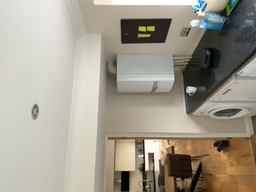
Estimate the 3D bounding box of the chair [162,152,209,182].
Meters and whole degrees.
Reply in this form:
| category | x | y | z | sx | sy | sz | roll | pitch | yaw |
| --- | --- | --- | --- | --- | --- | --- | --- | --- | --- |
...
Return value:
| category | x | y | z | sx | sy | sz | roll | pitch | yaw |
| --- | --- | --- | --- | --- | --- | --- | --- | --- | --- |
| chair | 1.240 | 1.560 | 4.720 | 0.620 | 0.850 | 0.520 | 97 | 173 | -81 |
